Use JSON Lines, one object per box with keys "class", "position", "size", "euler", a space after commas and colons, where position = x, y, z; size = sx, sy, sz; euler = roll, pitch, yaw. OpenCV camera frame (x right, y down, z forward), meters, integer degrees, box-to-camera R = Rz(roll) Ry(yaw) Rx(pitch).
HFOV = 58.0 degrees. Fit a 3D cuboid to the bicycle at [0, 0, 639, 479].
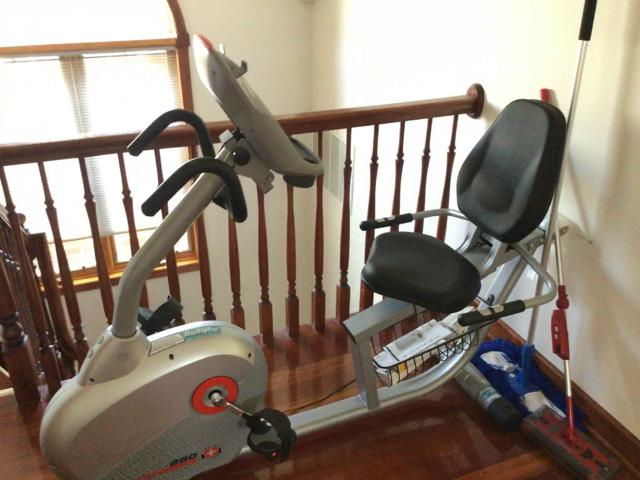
{"class": "bicycle", "position": [-0.080, 0.040, 1.560], "size": [1.740, 1.230, 0.770], "euler": [-12, 31, -18]}
